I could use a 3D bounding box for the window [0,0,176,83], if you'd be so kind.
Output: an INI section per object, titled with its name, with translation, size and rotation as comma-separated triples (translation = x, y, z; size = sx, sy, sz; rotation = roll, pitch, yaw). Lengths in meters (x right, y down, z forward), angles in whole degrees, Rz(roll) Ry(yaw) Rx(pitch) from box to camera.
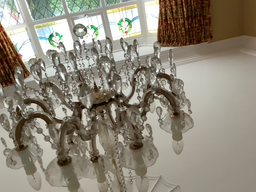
[window]
translation = -0.750, -1.520, 3.070
size = 2.620, 2.040, 0.610
rotation = -14, -155, -4
